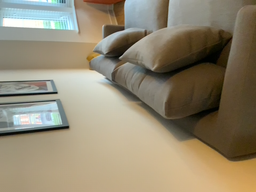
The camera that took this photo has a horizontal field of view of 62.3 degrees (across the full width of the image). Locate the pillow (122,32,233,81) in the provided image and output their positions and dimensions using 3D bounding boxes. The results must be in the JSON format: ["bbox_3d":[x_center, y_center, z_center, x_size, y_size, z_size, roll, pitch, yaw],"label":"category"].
[{"bbox_3d":[0.250,-0.290,1.430,0.650,0.530,0.250,-112,22,-73],"label":"pillow"}]

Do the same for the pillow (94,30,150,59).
[{"bbox_3d":[-0.090,-0.560,2.310,0.560,0.530,0.260,-118,29,-74],"label":"pillow"}]

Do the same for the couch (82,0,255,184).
[{"bbox_3d":[0.240,-0.470,1.940,2.340,0.860,1.050,-146,55,-63],"label":"couch"}]
